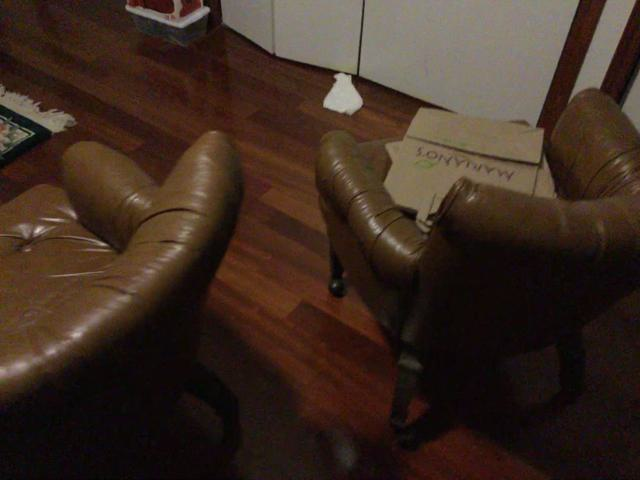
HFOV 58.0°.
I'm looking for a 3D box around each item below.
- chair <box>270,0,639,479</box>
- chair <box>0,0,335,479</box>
[{"bbox_3d":[0.330,-0.020,1.250,0.770,0.780,0.780,-6,47,-10],"label":"chair"},{"bbox_3d":[-0.490,0.170,1.000,0.690,0.790,0.720,28,50,21],"label":"chair"}]
